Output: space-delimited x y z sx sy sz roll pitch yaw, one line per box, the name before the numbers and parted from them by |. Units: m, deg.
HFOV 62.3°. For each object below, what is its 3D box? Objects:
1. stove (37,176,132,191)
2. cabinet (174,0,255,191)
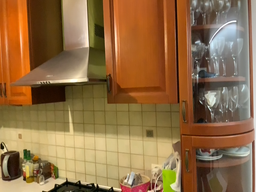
stove | -0.350 0.670 1.370 0.590 0.020 0.520 -1 2 25
cabinet | 0.440 -0.180 1.060 0.330 1.690 0.320 -1 2 25
